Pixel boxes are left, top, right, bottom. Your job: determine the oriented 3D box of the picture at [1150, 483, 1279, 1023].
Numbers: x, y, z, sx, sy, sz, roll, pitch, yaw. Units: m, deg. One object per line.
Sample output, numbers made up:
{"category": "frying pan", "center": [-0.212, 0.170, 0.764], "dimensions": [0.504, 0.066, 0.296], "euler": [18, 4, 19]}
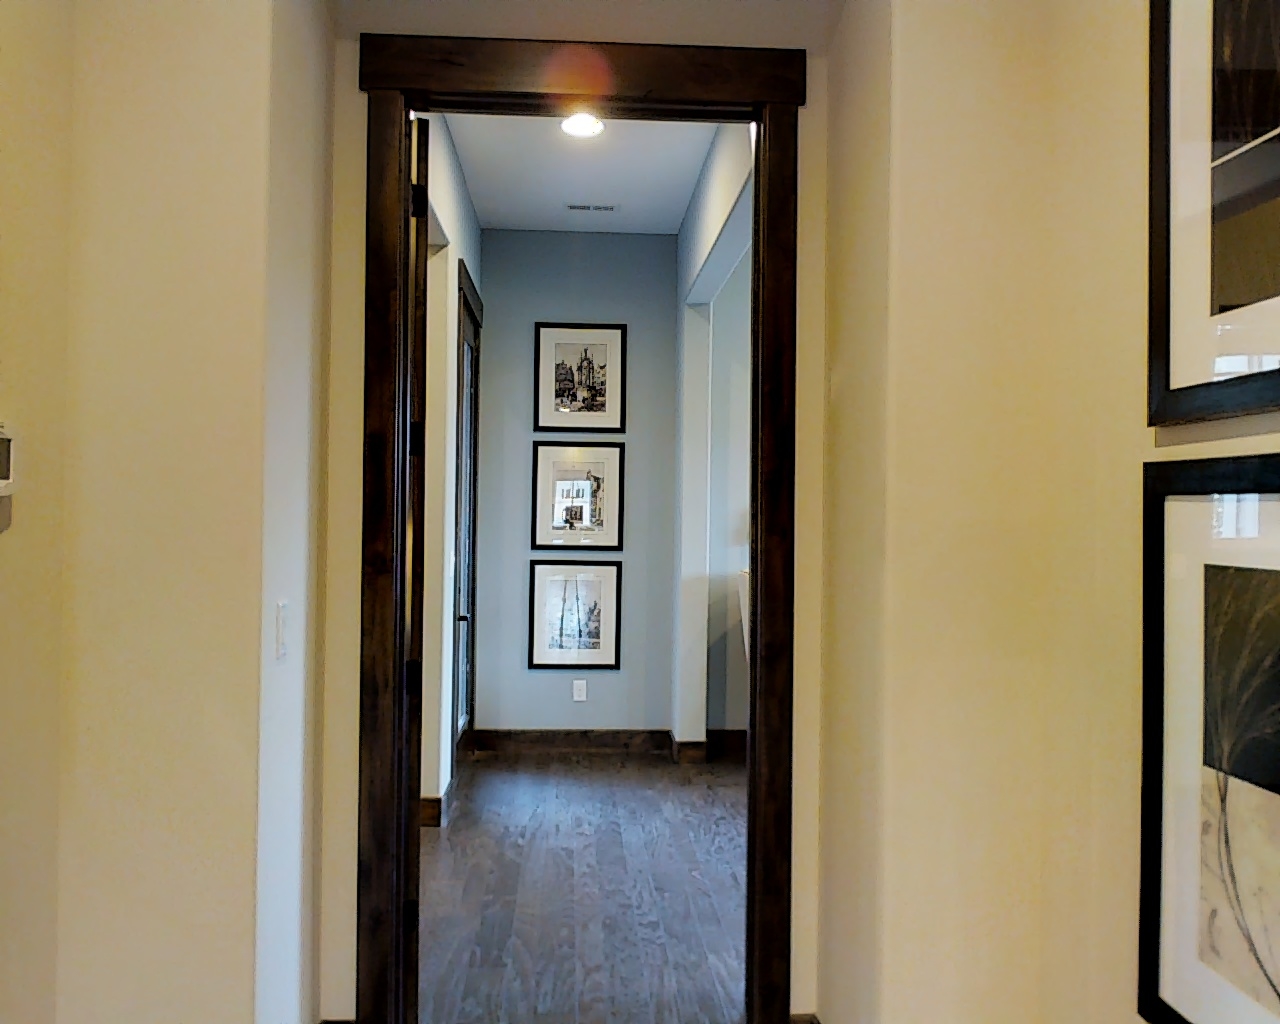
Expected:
{"category": "picture", "center": [0.860, 0.380, 1.300], "dimensions": [0.020, 0.840, 0.830], "euler": [1, -1, -4]}
